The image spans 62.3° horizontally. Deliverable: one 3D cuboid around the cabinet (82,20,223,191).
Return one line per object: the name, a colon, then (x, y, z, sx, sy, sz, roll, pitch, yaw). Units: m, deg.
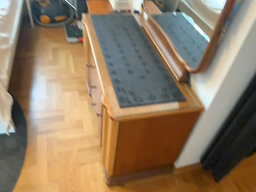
cabinet: (0.010, 0.020, 1.520, 0.540, 0.670, 1.080, -5, 45, -15)
